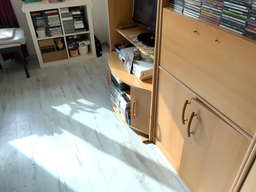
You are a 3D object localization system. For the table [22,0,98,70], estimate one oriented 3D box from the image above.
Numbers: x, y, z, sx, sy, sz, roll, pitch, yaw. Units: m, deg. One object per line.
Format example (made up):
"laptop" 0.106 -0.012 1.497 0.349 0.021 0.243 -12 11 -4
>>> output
"table" -0.910 -0.900 2.970 0.820 0.810 0.420 -15 38 -19
